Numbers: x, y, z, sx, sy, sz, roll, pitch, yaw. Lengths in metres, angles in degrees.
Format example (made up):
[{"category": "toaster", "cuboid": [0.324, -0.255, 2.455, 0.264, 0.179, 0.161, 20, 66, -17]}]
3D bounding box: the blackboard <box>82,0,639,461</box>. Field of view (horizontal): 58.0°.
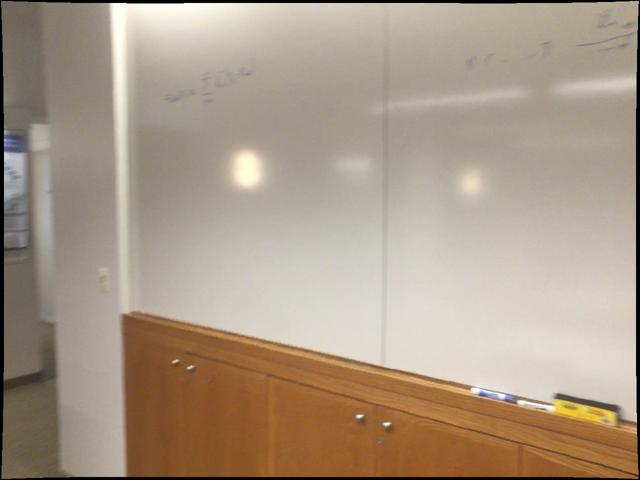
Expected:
[{"category": "blackboard", "cuboid": [0.170, -0.251, 1.800, 2.746, 1.363, 0.170, 7, 5, 34]}]
